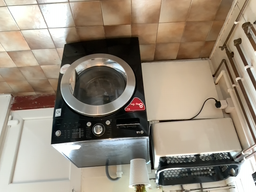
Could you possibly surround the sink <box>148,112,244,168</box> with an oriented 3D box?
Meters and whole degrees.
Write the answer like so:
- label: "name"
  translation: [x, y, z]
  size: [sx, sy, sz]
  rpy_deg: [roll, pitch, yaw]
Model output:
- label: "sink"
  translation: [0.490, 0.370, 1.700]
  size: [0.620, 0.260, 0.430]
  rpy_deg: [-6, 149, 2]
